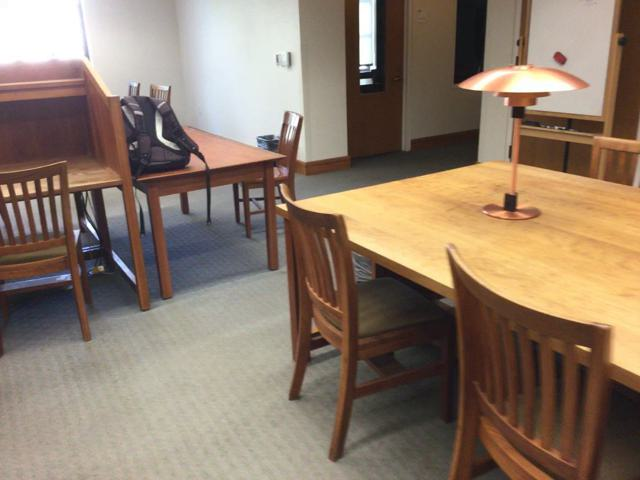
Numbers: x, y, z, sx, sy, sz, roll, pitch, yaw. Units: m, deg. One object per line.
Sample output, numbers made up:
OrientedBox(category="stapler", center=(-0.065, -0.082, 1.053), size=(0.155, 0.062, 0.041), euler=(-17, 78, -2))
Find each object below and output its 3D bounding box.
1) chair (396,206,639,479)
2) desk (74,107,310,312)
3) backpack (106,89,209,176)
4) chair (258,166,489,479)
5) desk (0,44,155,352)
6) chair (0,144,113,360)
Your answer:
OrientedBox(category="chair", center=(0.640, 0.460, 1.500), size=(0.620, 0.900, 0.600), euler=(-11, 22, -30))
OrientedBox(category="desk", center=(-0.960, -0.360, 3.990), size=(1.140, 0.880, 1.750), euler=(-9, 21, -24))
OrientedBox(category="backpack", center=(-0.900, -0.610, 3.200), size=(0.410, 0.390, 0.420), euler=(-12, 22, -30))
OrientedBox(category="chair", center=(0.170, 0.250, 2.180), size=(0.570, 0.910, 0.590), euler=(-11, 22, -30))
OrientedBox(category="desk", center=(-1.720, -0.280, 3.010), size=(1.290, 1.400, 1.010), euler=(-12, 22, -30))
OrientedBox(category="chair", center=(-1.450, 0.030, 2.890), size=(0.580, 0.890, 0.520), euler=(-12, 22, -30))
